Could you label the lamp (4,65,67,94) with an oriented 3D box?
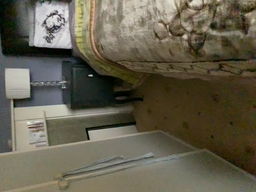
[{"bbox_3d":[-0.830,-0.160,1.920,0.230,0.490,0.220,20,111,60],"label":"lamp"}]
